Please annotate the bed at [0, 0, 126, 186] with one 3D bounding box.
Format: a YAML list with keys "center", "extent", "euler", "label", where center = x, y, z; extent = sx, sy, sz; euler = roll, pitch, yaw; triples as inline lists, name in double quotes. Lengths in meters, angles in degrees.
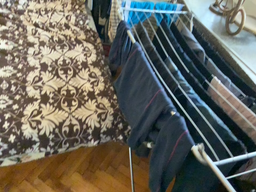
- center: [-0.910, -0.370, 1.780]
  extent: [1.250, 0.460, 2.040]
  euler: [-4, 49, -18]
  label: "bed"
